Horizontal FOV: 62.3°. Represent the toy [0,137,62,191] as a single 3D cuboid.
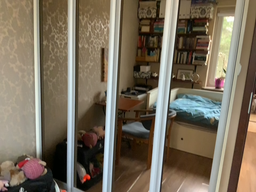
[{"bbox_3d":[-0.940,0.750,1.720,0.400,0.560,0.690,10,13,26],"label":"toy"}]
